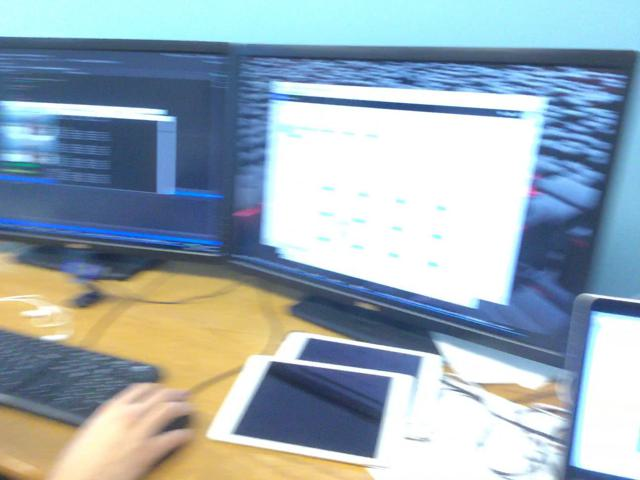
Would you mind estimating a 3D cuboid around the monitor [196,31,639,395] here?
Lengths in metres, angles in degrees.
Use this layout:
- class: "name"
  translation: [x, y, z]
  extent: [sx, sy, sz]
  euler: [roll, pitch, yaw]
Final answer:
- class: "monitor"
  translation: [0.100, -0.080, 0.940]
  extent: [0.670, 0.460, 0.130]
  euler: [10, 19, 32]

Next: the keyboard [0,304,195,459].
- class: "keyboard"
  translation: [-0.440, 0.190, 0.880]
  extent: [0.450, 0.050, 0.210]
  euler: [8, 18, 24]
